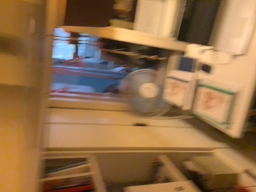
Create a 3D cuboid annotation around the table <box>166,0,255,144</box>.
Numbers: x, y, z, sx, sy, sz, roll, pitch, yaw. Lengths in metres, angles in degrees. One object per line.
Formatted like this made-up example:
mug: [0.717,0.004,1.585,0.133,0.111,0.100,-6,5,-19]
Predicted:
table: [0.880,-0.460,1.570,0.620,0.680,1.480,-137,54,-65]
